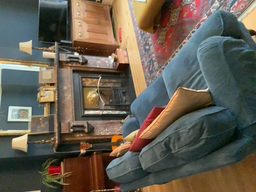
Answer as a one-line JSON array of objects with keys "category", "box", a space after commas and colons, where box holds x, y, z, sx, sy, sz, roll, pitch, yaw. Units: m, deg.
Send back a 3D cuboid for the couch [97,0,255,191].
[{"category": "couch", "box": [0.380, 0.170, 1.790, 1.580, 0.830, 0.990, 131, 135, -56]}]
